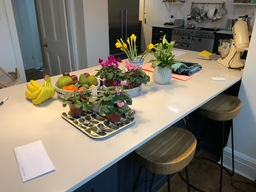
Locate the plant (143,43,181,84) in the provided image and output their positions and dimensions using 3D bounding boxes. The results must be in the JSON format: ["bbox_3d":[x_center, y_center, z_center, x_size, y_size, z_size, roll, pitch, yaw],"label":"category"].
[{"bbox_3d":[0.250,-0.250,1.600,0.210,0.240,0.170,22,33,39],"label":"plant"}]
